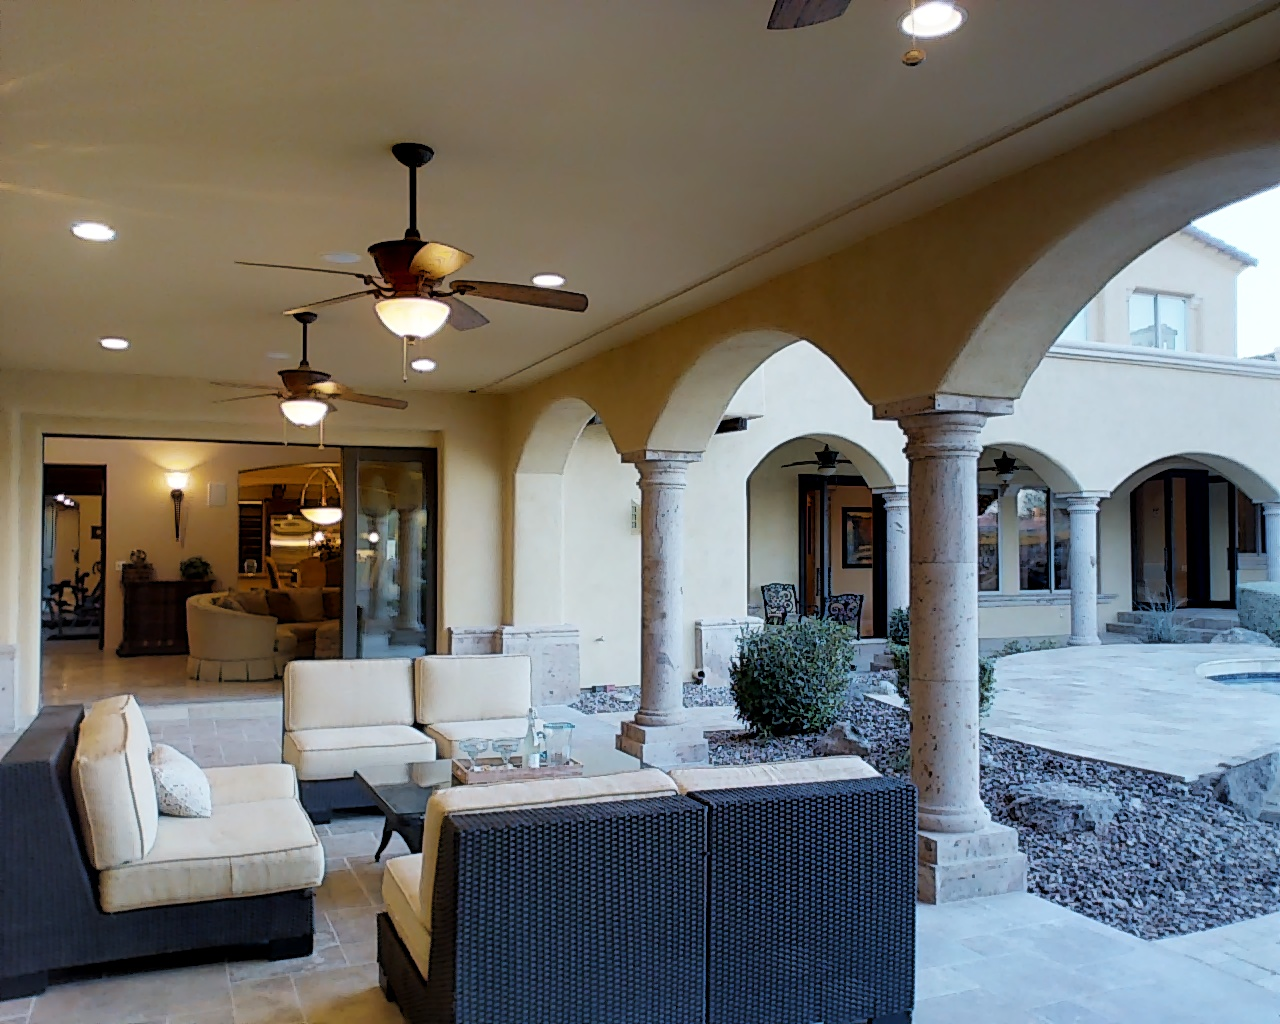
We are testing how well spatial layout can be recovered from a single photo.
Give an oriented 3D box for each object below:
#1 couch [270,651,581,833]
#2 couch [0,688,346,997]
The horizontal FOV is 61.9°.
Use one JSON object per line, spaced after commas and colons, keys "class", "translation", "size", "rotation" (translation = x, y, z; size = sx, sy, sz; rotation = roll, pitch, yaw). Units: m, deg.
{"class": "couch", "translation": [-1.360, 1.350, 6.620], "size": [1.650, 0.810, 1.230], "rotation": [1, -3, -24]}
{"class": "couch", "translation": [-2.190, 1.250, 4.420], "size": [1.630, 0.770, 1.680], "rotation": [1, -3, -24]}
